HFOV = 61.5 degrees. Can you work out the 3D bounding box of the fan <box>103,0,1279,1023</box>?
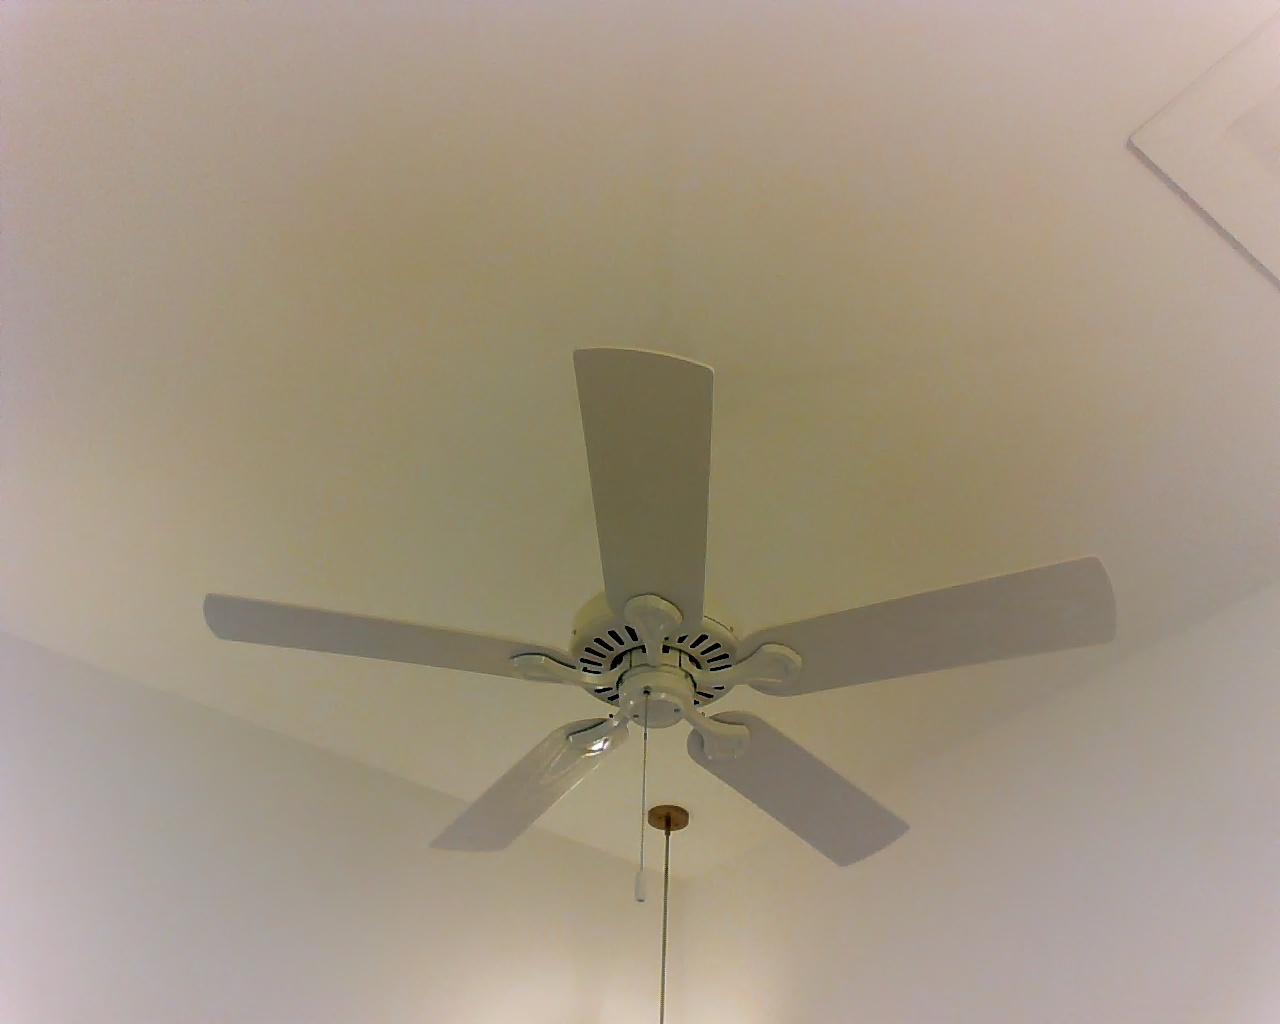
[{"bbox_3d":[0.060,0.060,1.840,1.360,1.330,0.680,-41,9,37],"label":"fan"}]
